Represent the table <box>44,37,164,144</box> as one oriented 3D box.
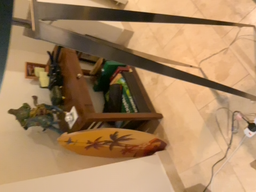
[{"bbox_3d":[-0.210,-0.040,1.790,0.380,0.740,0.700,-47,54,37],"label":"table"}]
